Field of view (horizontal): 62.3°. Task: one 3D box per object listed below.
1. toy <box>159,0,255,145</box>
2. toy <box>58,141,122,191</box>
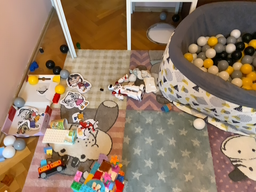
[{"bbox_3d":[0.660,-0.200,1.410,0.800,0.440,0.880,7,55,5],"label":"toy"},{"bbox_3d":[-0.160,0.410,1.030,0.250,0.330,0.250,-2,55,-2],"label":"toy"}]
